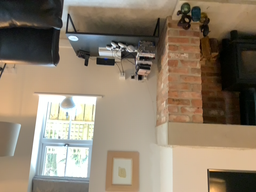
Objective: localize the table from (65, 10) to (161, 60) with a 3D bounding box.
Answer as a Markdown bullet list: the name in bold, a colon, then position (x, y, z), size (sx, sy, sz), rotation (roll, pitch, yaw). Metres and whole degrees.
- **table**: position (-0.170, -0.710, 2.600), size (1.010, 0.250, 0.660), rotation (3, 168, -2)

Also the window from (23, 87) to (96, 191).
- **window**: position (-0.890, 0.610, 2.870), size (0.790, 1.430, 0.130), rotation (3, 168, -3)
